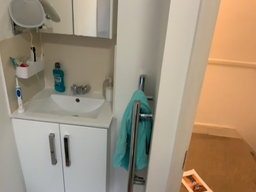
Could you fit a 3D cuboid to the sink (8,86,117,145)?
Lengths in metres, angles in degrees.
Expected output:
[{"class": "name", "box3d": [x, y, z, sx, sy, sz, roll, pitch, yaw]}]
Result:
[{"class": "sink", "box3d": [-0.410, 0.110, 1.500, 0.600, 0.130, 0.460, 7, 25, 3]}]
